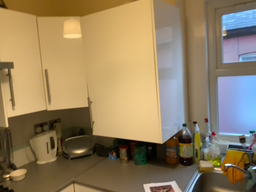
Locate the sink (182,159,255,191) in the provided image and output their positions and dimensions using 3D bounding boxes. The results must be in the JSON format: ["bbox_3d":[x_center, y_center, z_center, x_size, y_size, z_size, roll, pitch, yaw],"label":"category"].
[{"bbox_3d":[0.600,0.620,1.330,0.400,0.170,0.570,0,7,31],"label":"sink"}]

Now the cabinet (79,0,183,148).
[{"bbox_3d":[0.040,-0.170,1.630,0.620,0.960,0.410,0,7,31],"label":"cabinet"}]
